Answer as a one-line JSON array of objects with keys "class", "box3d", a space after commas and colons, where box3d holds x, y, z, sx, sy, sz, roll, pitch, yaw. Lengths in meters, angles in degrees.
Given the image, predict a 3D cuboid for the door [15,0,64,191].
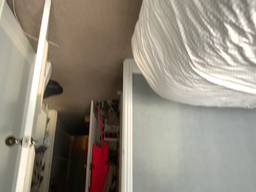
[{"class": "door", "box3d": [-0.670, 0.460, 1.440, 0.110, 2.330, 0.930, 9, 160, -25]}]
